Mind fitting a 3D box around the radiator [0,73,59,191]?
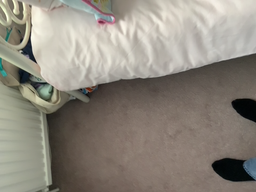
[{"bbox_3d":[-0.440,0.160,0.870,0.050,0.490,0.440,-12,76,6],"label":"radiator"}]
